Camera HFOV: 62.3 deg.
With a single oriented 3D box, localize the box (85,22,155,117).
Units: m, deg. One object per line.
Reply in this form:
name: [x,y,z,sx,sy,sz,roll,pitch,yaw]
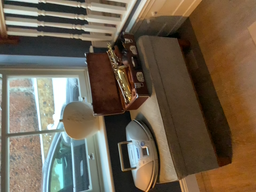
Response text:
box: [-0.100,-0.190,1.720,0.460,0.340,0.590,139,125,-59]
